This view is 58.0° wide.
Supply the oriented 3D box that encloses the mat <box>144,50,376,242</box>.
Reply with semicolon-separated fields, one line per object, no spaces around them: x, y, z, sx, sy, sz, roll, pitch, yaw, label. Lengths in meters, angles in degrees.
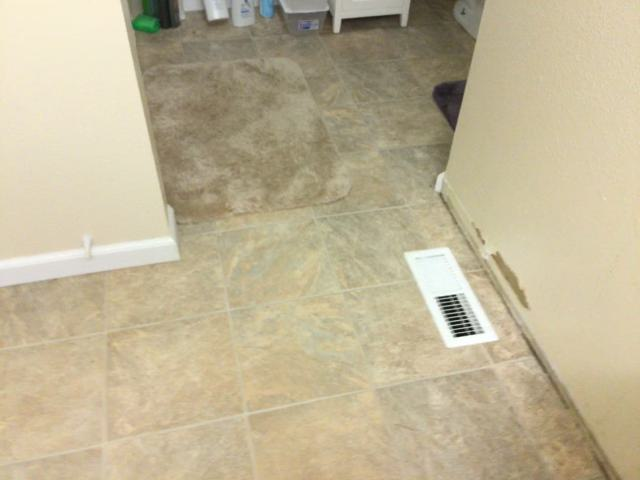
-0.270;-0.400;2.080;0.690;0.060;0.980;-8;46;-10;mat
